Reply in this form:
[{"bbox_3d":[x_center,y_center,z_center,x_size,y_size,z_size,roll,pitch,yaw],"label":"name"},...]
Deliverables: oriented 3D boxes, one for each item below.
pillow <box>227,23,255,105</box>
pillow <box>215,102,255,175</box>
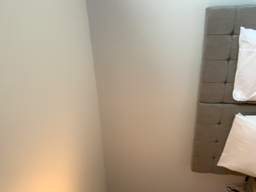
[{"bbox_3d":[1.160,-0.270,1.900,0.140,0.440,0.720,-45,-46,-55],"label":"pillow"},{"bbox_3d":[1.190,0.450,2.210,0.140,0.480,0.720,-36,-54,-54],"label":"pillow"}]
